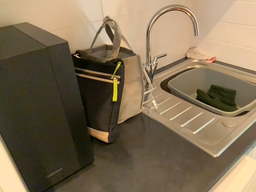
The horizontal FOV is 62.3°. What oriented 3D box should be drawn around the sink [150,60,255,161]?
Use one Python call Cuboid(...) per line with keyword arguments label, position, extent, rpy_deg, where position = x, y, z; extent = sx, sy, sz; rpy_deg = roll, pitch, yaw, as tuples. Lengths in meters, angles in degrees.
Cuboid(label="sink", position=(0.390, 0.020, 0.990), extent=(0.340, 0.170, 0.470), rpy_deg=(-26, 38, -32))
